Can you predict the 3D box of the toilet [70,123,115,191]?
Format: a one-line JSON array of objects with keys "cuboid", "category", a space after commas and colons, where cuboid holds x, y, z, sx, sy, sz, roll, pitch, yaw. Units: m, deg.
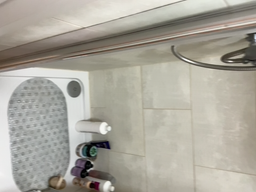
[{"cuboid": [-0.240, 0.430, 1.430, 0.170, 0.240, 0.460, -2, 91, -56], "category": "toilet"}]
